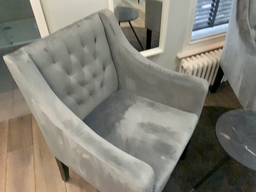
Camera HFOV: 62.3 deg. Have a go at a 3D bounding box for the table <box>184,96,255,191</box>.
[{"bbox_3d":[0.630,0.350,1.190,0.390,0.460,0.390,-21,45,-20],"label":"table"}]

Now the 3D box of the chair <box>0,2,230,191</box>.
[{"bbox_3d":[-0.030,0.140,1.110,0.670,0.920,0.670,22,47,25],"label":"chair"}]

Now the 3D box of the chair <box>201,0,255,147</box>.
[{"bbox_3d":[1.020,-0.200,1.470,0.670,0.890,0.670,-1,42,1],"label":"chair"}]
